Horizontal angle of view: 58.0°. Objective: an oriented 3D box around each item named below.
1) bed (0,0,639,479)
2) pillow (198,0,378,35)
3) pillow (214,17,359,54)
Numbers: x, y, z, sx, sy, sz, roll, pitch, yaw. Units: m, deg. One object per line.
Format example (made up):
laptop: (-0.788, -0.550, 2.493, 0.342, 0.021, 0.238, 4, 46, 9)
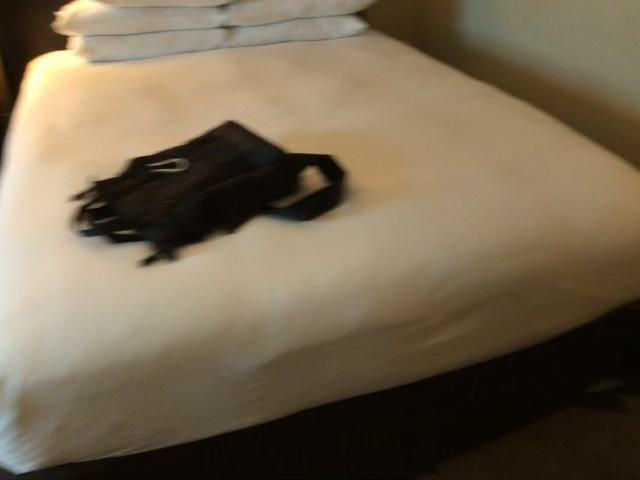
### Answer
bed: (-0.250, -0.510, 1.750, 1.640, 1.580, 2.100, -11, 33, -20)
pillow: (-0.120, -0.930, 2.310, 0.700, 0.150, 0.160, -11, 33, -20)
pillow: (-0.130, -0.830, 2.330, 0.560, 0.090, 0.140, -11, 33, -20)
